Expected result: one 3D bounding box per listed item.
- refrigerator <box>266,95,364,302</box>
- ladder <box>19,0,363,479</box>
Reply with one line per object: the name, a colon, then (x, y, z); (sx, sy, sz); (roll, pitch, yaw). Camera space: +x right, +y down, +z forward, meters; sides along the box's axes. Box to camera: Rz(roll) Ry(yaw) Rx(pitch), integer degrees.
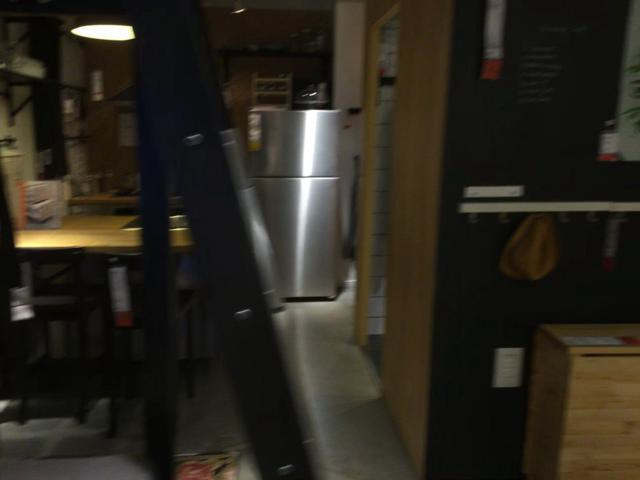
refrigerator: (-0.020, -0.340, 4.770); (0.750, 1.630, 0.470); (0, 10, 2)
ladder: (-0.130, 0.220, 1.090); (0.320, 2.100, 0.520); (-10, 9, -1)
